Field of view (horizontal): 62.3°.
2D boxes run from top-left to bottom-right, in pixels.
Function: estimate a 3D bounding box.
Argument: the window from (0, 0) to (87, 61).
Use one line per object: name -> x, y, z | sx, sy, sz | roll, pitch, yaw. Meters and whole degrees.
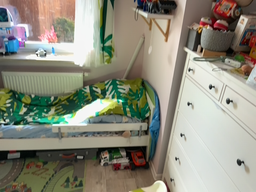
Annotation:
window -> -1.030, -1.380, 2.310 | 1.130, 1.970, 0.120 | 2, 26, -7
